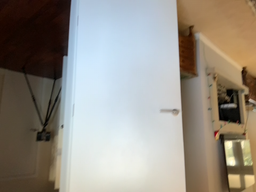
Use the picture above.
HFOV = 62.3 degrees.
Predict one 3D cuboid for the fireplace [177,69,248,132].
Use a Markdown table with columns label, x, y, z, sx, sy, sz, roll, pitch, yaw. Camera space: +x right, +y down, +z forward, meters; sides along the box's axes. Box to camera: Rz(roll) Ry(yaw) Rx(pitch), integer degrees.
| label | x | y | z | sx | sy | sz | roll | pitch | yaw |
| --- | --- | --- | --- | --- | --- | --- | --- | --- | --- |
| fireplace | 1.340 | 0.150 | 3.250 | 0.500 | 0.750 | 1.370 | -10 | 165 | 42 |
